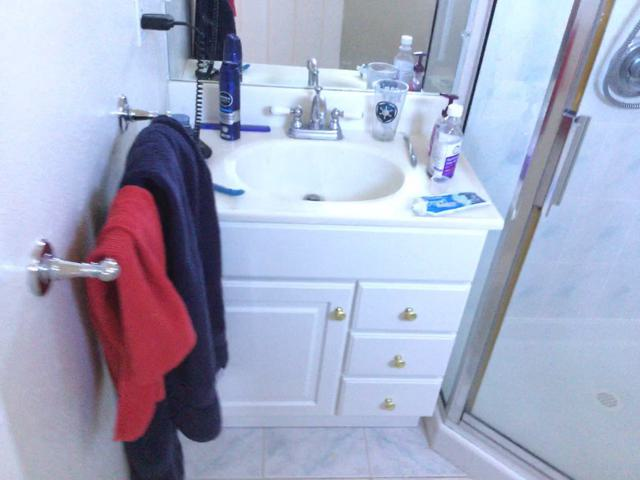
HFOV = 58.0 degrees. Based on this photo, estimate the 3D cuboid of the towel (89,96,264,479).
[{"bbox_3d":[-0.280,0.180,1.160,0.220,0.840,0.290,8,33,-5],"label":"towel"}]
